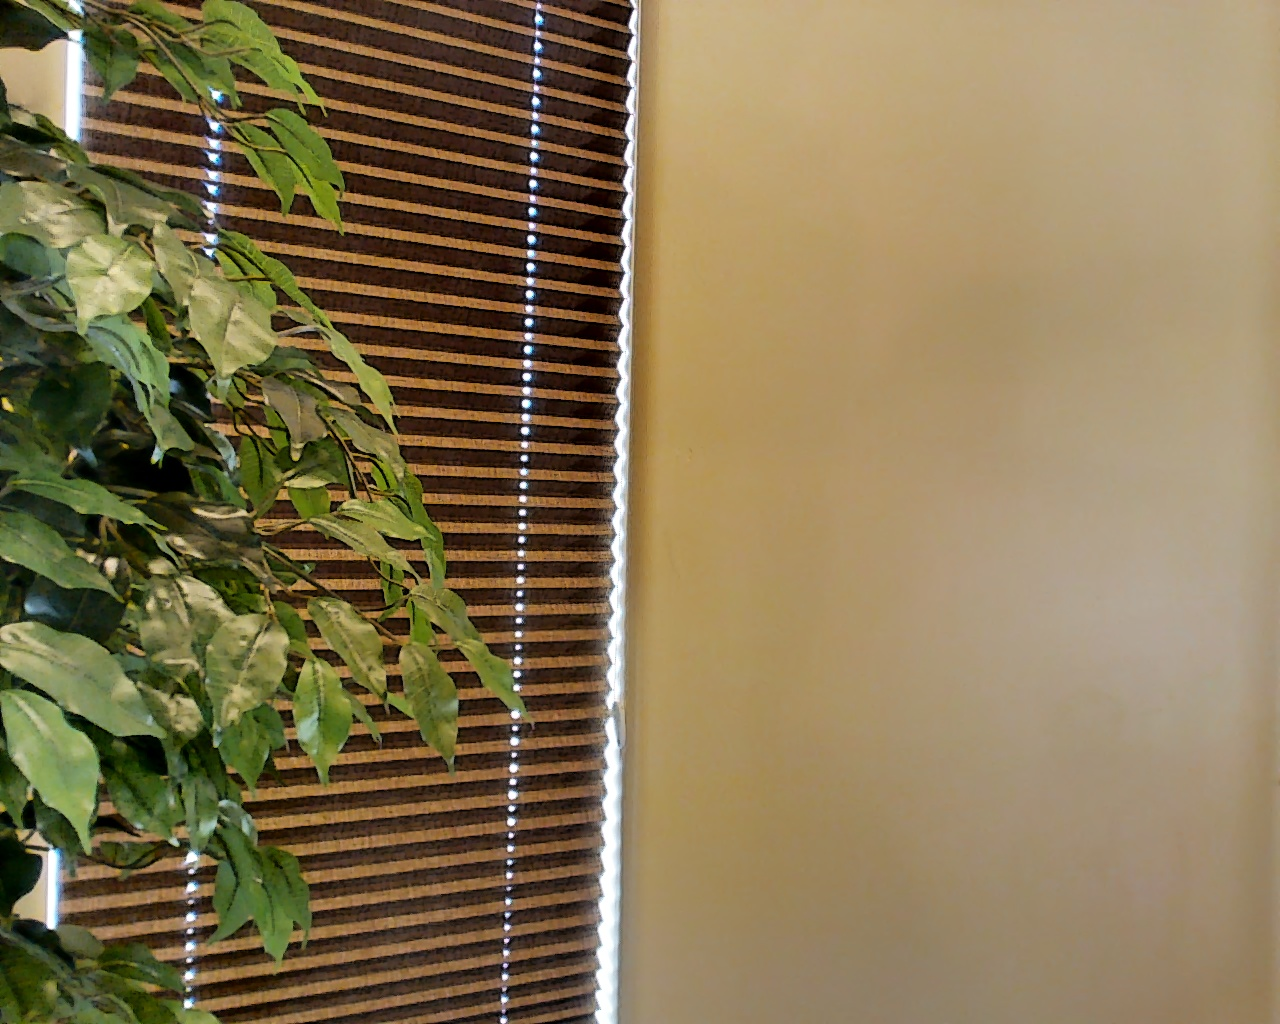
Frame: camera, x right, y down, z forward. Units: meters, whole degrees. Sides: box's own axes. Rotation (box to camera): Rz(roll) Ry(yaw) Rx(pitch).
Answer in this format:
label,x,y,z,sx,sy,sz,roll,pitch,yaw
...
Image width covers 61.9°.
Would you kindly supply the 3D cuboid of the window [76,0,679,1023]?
label,x,y,z,sx,sy,sz,roll,pitch,yaw
window,-0.300,-0.280,1.370,0.700,2.360,0.110,2,1,-27
